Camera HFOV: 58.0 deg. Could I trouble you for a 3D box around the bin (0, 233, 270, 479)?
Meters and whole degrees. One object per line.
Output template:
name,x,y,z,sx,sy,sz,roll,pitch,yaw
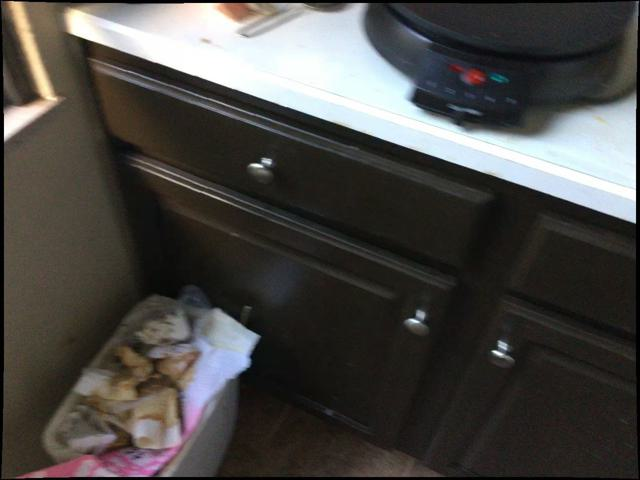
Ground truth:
bin,-0.339,0.331,1.090,0.290,0.420,0.460,24,52,14
